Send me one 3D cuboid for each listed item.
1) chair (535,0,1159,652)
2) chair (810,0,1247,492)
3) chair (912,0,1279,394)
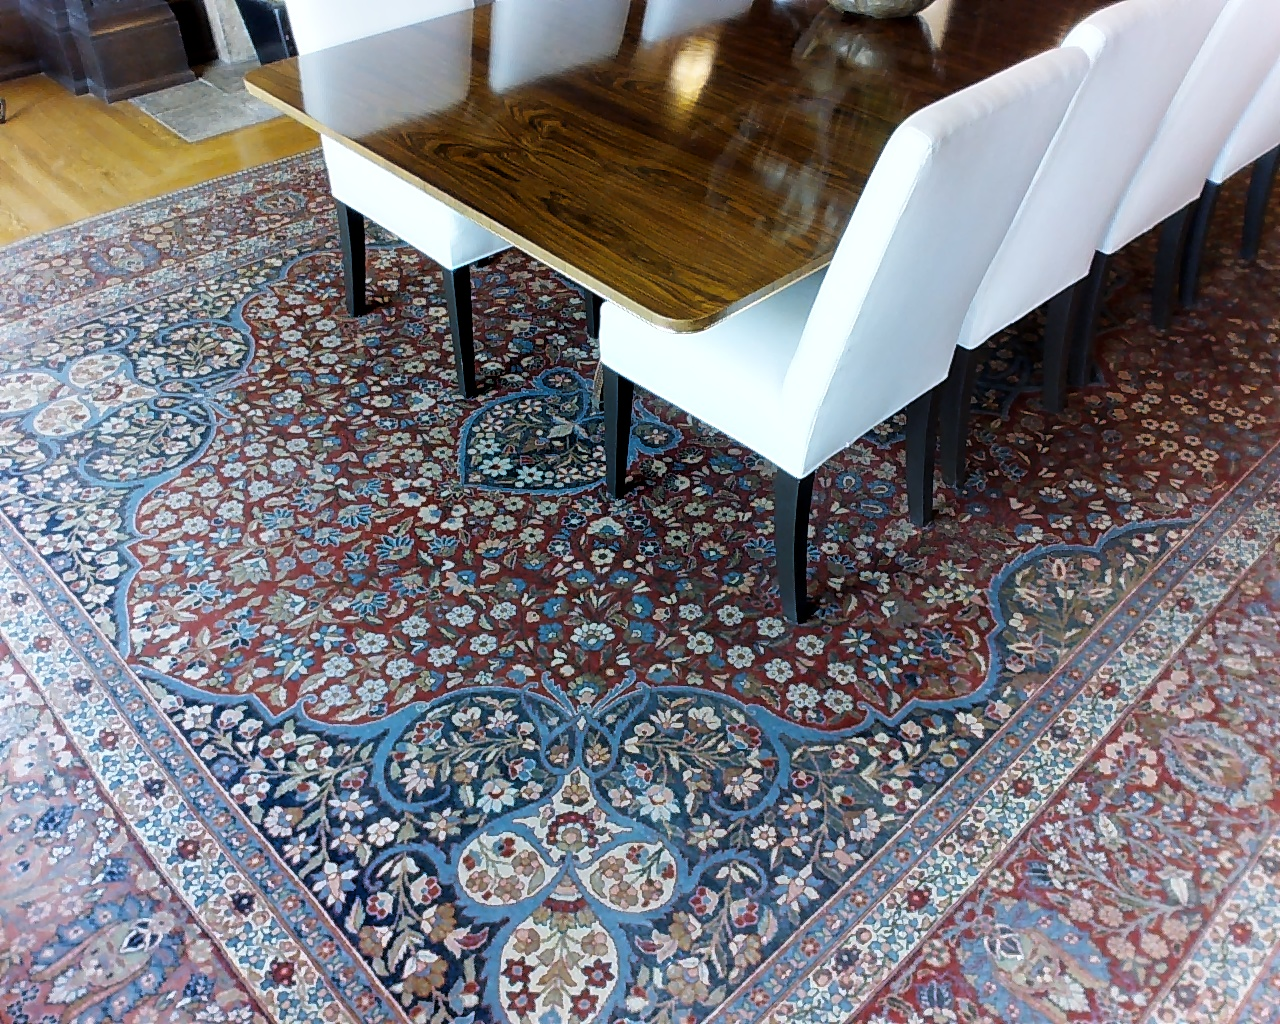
[{"bbox_3d":[0.320,-0.430,2.020,0.750,0.980,0.630,31,50,29],"label":"chair"},{"bbox_3d":[0.780,-0.660,2.300,0.520,1.020,0.490,-32,52,-30],"label":"chair"},{"bbox_3d":[1.190,-0.960,2.630,0.590,1.030,0.620,-31,51,-30],"label":"chair"}]
